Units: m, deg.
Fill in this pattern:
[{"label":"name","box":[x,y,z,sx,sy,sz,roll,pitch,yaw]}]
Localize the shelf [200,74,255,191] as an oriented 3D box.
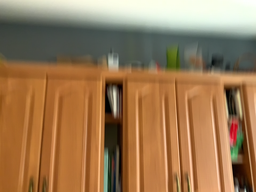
[{"label":"shelf","box":[0.640,0.270,1.410,0.120,0.770,0.280,1,-13,-9]}]
